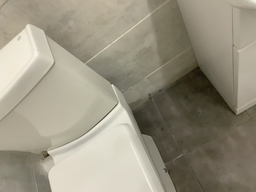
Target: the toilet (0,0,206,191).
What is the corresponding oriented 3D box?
[{"bbox_3d":[-0.070,0.260,0.710,0.390,0.810,0.670,-34,60,13],"label":"toilet"}]
